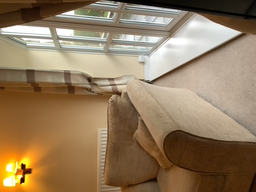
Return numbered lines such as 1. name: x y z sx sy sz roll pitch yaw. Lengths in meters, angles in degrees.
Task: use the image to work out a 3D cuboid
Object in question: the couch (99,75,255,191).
1. couch: 0.260 0.550 1.710 1.020 0.830 1.170 -121 35 -66
